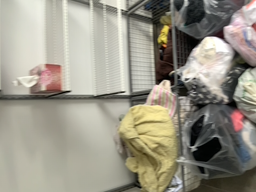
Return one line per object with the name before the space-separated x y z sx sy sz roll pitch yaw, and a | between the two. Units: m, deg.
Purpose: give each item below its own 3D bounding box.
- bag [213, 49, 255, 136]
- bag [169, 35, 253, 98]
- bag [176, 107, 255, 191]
bag | 0.660 -0.010 1.000 0.340 0.240 0.360 22 107 50
bag | 0.460 -0.160 1.190 0.240 0.330 0.270 30 113 48
bag | 0.510 0.280 1.140 0.280 0.320 0.360 26 110 49
